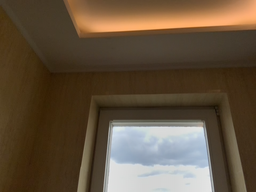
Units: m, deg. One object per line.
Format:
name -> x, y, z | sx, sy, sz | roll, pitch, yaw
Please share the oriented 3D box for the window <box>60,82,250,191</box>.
window -> 0.120, 0.640, 1.110 | 0.970, 1.520, 0.170 | -2, -28, 8
